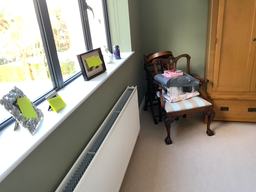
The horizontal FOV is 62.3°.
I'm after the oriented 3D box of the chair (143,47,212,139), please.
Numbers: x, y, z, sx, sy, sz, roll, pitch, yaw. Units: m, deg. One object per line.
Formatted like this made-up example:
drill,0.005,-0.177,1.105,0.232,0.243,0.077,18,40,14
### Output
chair,0.630,-0.100,2.980,0.540,0.950,0.920,-9,24,-11
